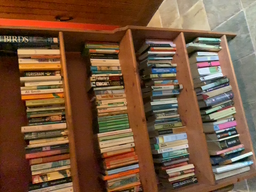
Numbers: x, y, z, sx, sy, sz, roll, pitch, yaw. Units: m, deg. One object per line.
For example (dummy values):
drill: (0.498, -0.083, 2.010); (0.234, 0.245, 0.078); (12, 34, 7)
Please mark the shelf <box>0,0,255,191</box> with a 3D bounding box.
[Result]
shelf: (-0.100, 0.070, 1.160); (0.360, 1.860, 0.960); (153, 111, -64)
